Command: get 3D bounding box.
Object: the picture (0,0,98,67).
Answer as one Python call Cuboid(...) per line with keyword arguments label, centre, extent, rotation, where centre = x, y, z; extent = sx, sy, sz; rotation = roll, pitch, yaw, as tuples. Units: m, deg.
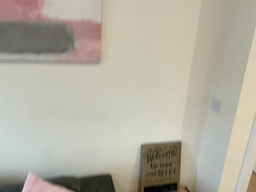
Cuboid(label="picture", centre=(-0.740, -0.400, 0.970), extent=(1.200, 0.530, 0.030), rotation=(-2, 20, -15))
